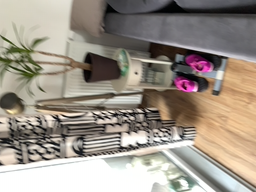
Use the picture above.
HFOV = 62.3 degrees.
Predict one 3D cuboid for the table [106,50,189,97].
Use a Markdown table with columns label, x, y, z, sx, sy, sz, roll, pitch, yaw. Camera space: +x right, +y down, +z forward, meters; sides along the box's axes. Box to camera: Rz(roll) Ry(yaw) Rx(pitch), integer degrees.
| label | x | y | z | sx | sy | sz | roll | pitch | yaw |
| --- | --- | --- | --- | --- | --- | --- | --- | --- | --- |
| table | 0.190 | -0.210 | 2.090 | 0.350 | 0.670 | 0.340 | 37 | 120 | 53 |
